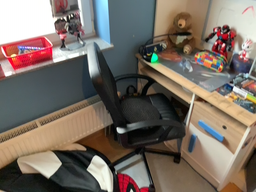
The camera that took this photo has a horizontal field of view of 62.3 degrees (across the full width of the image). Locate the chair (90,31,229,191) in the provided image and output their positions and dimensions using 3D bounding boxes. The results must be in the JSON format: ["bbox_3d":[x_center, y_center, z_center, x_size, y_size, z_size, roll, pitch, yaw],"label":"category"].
[{"bbox_3d":[0.110,0.160,1.540,0.660,1.030,0.620,-5,38,-7],"label":"chair"}]

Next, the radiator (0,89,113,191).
[{"bbox_3d":[-0.660,0.360,1.610,1.130,0.460,0.190,-22,43,-27],"label":"radiator"}]
